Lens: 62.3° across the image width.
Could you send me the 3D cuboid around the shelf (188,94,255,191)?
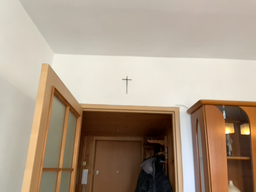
[{"bbox_3d":[1.070,0.620,1.490,1.130,1.180,0.330,2,-18,0],"label":"shelf"}]
